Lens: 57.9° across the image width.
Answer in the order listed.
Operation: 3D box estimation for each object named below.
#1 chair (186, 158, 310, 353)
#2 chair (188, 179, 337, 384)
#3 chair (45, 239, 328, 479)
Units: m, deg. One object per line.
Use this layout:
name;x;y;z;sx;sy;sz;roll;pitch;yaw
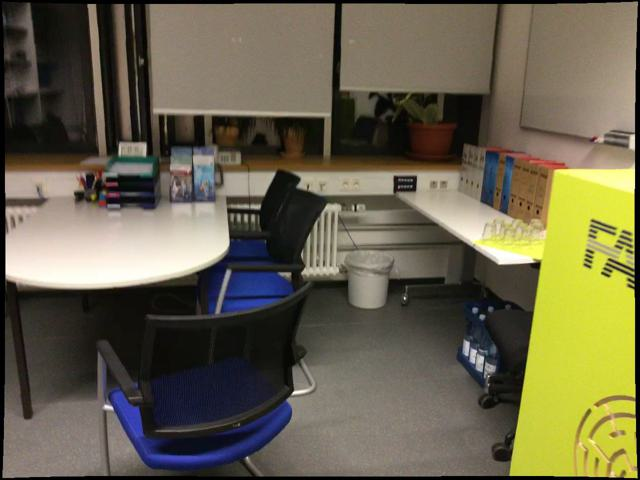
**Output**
chair;-0.430;0.040;3.310;0.599;0.871;0.800;-3;18;-11
chair;-0.290;0.160;2.760;0.609;0.781;0.580;-3;18;-11
chair;-0.410;0.531;1.780;0.590;0.841;0.650;-11;21;-33
